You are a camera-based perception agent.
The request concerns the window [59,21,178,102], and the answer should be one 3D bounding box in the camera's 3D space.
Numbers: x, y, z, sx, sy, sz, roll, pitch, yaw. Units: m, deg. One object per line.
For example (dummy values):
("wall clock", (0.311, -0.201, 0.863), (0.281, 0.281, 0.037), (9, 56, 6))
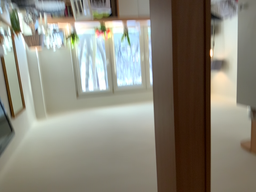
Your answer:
("window", (-0.090, -0.810, 4.740), (2.590, 1.590, 0.130), (-7, -169, -15))
